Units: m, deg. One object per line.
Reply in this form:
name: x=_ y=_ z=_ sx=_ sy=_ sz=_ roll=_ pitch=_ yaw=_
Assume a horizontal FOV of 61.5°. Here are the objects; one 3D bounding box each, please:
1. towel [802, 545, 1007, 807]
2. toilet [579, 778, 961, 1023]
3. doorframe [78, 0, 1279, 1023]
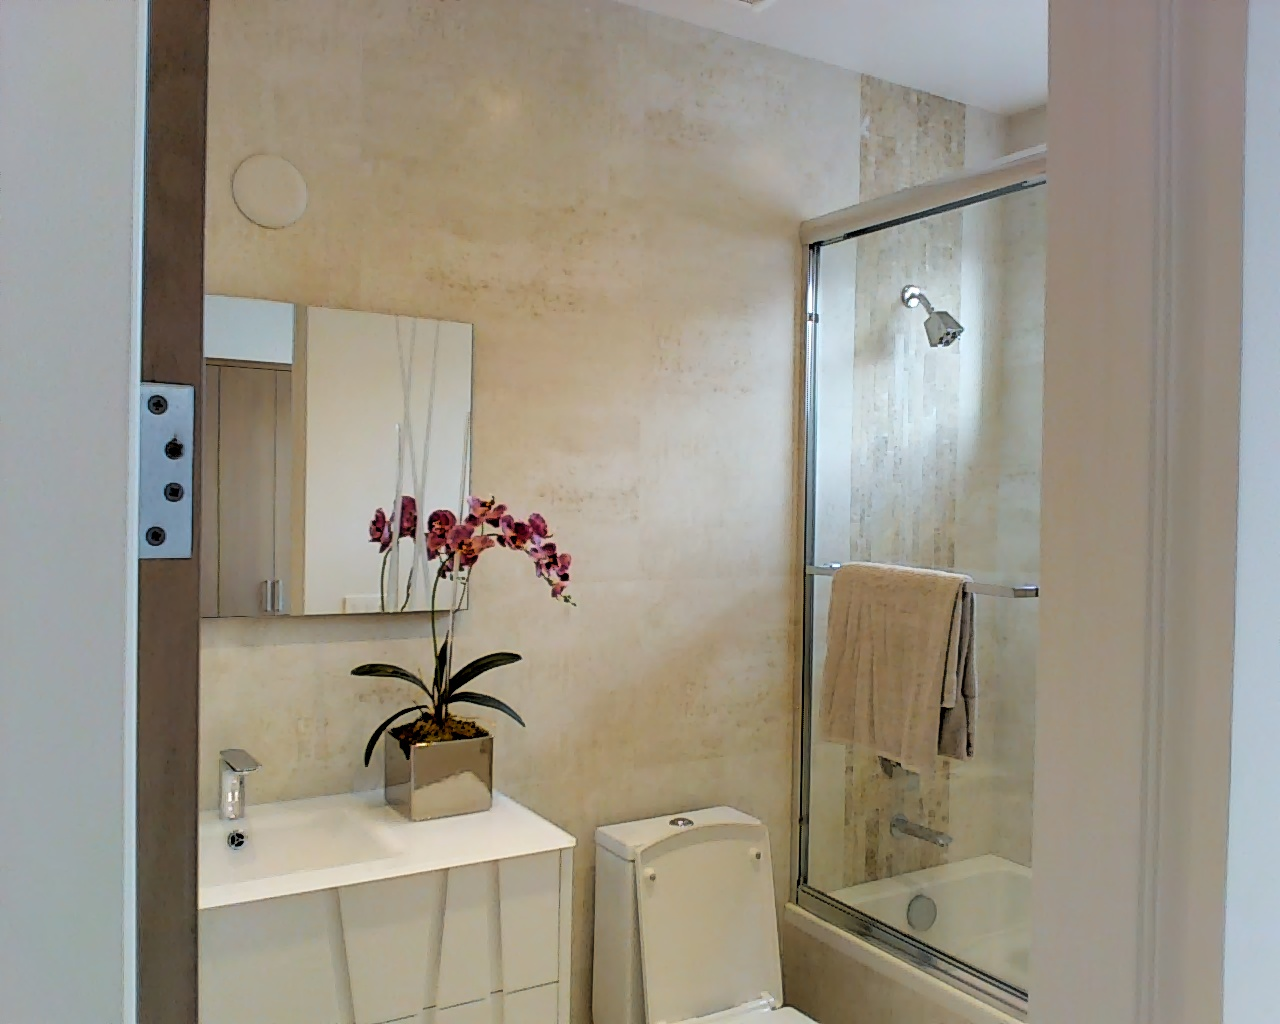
towel: x=0.580 y=0.340 z=2.410 sx=0.190 sy=0.510 sz=0.430 roll=1 pitch=1 yaw=-31
toilet: x=0.240 y=1.090 z=2.290 sx=0.450 sy=0.830 sz=0.720 roll=1 pitch=1 yaw=-31
doorframe: x=0.090 y=0.290 z=0.760 sx=0.850 sy=2.541 sz=0.250 roll=1 pitch=1 yaw=-31
